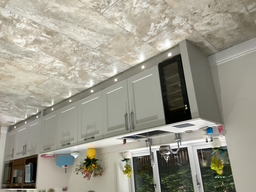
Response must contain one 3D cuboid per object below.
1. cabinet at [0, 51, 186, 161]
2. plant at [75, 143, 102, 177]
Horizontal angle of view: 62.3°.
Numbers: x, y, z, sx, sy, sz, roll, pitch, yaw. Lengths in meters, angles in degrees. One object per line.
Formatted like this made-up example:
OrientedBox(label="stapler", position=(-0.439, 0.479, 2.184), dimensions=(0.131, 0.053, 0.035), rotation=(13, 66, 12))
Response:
OrientedBox(label="cabinet", position=(-1.250, 0.590, 4.020), dimensions=(4.720, 0.890, 0.630), rotation=(-20, 155, 39))
OrientedBox(label="plant", position=(-0.660, 1.070, 3.540), dimensions=(0.300, 0.500, 0.310), rotation=(-20, 155, 39))
